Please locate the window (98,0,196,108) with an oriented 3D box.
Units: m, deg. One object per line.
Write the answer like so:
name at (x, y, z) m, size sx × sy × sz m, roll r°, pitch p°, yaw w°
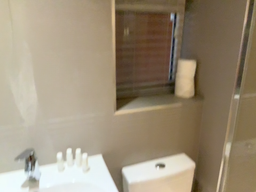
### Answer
window at (0.110, -0.510, 1.220) m, size 0.530 × 1.110 × 0.180 m, roll -6°, pitch 20°, yaw -19°
